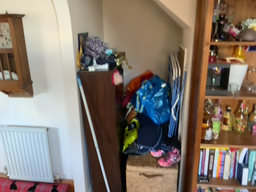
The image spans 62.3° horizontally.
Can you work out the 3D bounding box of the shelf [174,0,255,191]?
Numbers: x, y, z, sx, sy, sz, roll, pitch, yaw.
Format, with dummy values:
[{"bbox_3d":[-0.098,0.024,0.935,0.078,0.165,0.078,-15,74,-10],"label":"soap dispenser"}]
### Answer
[{"bbox_3d":[0.850,0.180,1.520,0.880,1.930,0.440,3,19,9],"label":"shelf"}]
